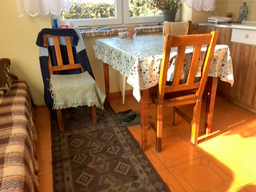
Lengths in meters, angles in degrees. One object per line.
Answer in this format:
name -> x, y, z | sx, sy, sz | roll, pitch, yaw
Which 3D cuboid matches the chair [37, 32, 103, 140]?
chair -> -0.580, -0.150, 2.090 | 0.410, 0.850, 0.660 | -11, 24, -23
